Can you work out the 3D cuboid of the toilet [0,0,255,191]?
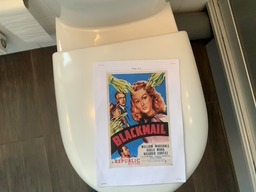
[{"bbox_3d":[0.010,-0.050,0.570,0.390,0.780,0.590,-12,84,-4],"label":"toilet"}]
